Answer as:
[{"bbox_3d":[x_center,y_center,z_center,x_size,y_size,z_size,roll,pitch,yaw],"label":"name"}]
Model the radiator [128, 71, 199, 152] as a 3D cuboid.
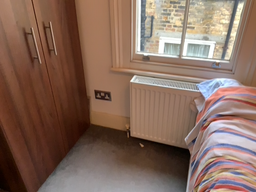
[{"bbox_3d":[0.240,0.120,1.570,0.460,0.530,0.140,10,33,16],"label":"radiator"}]
